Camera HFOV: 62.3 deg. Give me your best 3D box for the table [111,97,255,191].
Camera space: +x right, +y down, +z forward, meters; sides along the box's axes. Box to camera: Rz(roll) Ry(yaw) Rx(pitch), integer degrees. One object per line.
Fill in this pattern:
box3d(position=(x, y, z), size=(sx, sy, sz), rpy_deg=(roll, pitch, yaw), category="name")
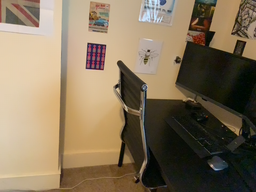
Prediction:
box3d(position=(0.510, 0.650, 1.500), size=(0.910, 0.720, 1.480), rpy_deg=(2, 23, -18), category="table")
